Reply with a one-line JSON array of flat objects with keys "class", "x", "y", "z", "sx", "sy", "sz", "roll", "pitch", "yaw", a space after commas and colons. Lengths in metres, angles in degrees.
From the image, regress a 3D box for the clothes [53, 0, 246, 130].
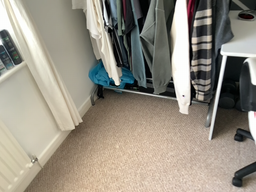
[{"class": "clothes", "x": 0.190, "y": -0.420, "z": 1.560, "sx": 1.070, "sy": 1.010, "sz": 0.610, "roll": 9, "pitch": 43, "yaw": 22}]
